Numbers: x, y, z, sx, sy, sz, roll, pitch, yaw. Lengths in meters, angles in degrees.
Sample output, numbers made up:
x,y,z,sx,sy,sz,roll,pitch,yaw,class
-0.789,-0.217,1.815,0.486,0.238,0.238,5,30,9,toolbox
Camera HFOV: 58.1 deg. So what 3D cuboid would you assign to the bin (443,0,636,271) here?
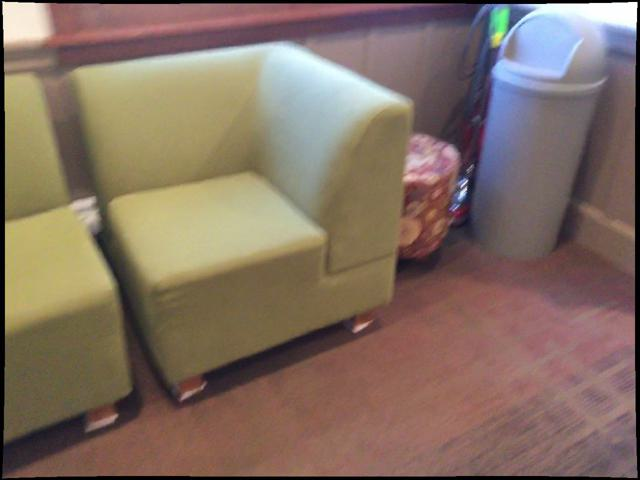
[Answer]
x,y,z,sx,sy,sz,roll,pitch,yaw,class
0.798,-0.401,2.230,0.369,0.922,0.370,-17,38,-24,bin
